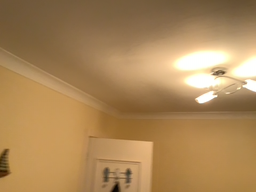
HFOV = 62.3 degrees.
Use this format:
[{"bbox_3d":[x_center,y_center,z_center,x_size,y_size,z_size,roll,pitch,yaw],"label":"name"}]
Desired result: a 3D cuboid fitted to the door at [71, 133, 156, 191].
[{"bbox_3d":[-0.190,1.490,2.220,0.900,2.130,0.150,3,-15,2],"label":"door"}]
